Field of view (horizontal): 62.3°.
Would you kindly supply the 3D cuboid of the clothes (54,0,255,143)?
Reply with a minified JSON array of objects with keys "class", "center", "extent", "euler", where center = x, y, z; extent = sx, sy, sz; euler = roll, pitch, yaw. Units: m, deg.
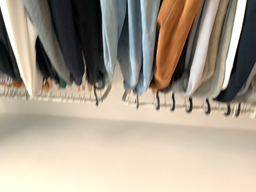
[{"class":"clothes","center":[0.340,-0.320,0.980],"extent":[1.120,0.810,0.610],"euler":[4,-156,8]}]
